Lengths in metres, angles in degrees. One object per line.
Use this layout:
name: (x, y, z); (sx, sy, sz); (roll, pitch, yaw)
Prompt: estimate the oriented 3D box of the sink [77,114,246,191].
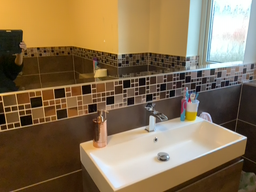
sink: (0.190, 0.290, 1.110); (0.800, 0.130, 0.380); (-9, 19, -30)
